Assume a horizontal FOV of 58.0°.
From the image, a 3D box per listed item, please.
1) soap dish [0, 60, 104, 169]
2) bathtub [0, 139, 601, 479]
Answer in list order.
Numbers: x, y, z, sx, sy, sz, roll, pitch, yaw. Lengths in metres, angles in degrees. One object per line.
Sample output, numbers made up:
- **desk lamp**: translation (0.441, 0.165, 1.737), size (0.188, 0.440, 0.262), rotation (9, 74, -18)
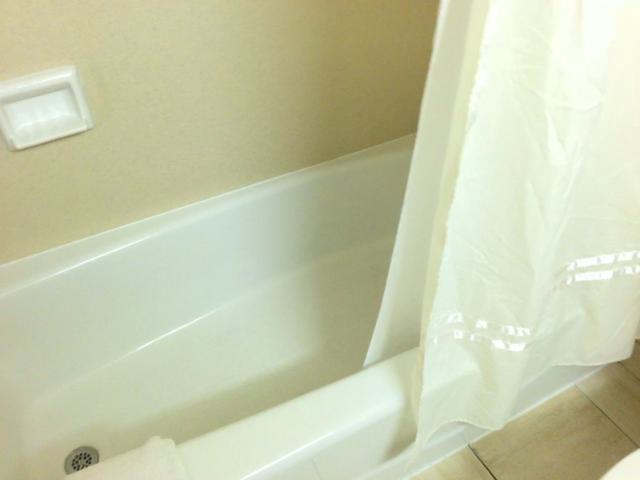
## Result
- **soap dish**: translation (-0.550, -0.250, 1.150), size (0.180, 0.160, 0.060), rotation (-21, 45, -20)
- **bathtub**: translation (-0.150, 0.260, 1.330), size (1.260, 0.340, 0.750), rotation (-21, 45, -21)
